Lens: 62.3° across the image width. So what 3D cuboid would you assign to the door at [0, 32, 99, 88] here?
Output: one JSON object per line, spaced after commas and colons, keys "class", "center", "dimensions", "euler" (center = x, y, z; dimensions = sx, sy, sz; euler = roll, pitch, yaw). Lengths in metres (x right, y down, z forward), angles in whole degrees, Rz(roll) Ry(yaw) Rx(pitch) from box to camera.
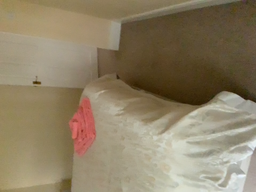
{"class": "door", "center": [-1.420, -0.540, 3.250], "dimensions": [0.100, 1.990, 0.750], "euler": [-26, 66, 57]}
